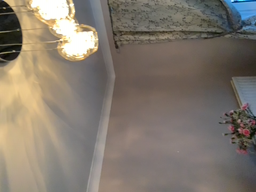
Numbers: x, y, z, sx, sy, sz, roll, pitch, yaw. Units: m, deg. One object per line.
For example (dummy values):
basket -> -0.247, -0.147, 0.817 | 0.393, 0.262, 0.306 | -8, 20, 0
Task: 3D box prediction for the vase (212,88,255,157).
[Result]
vase -> 1.050, 0.230, 1.840 | 0.420, 0.460, 0.420 | 82, -171, -46
